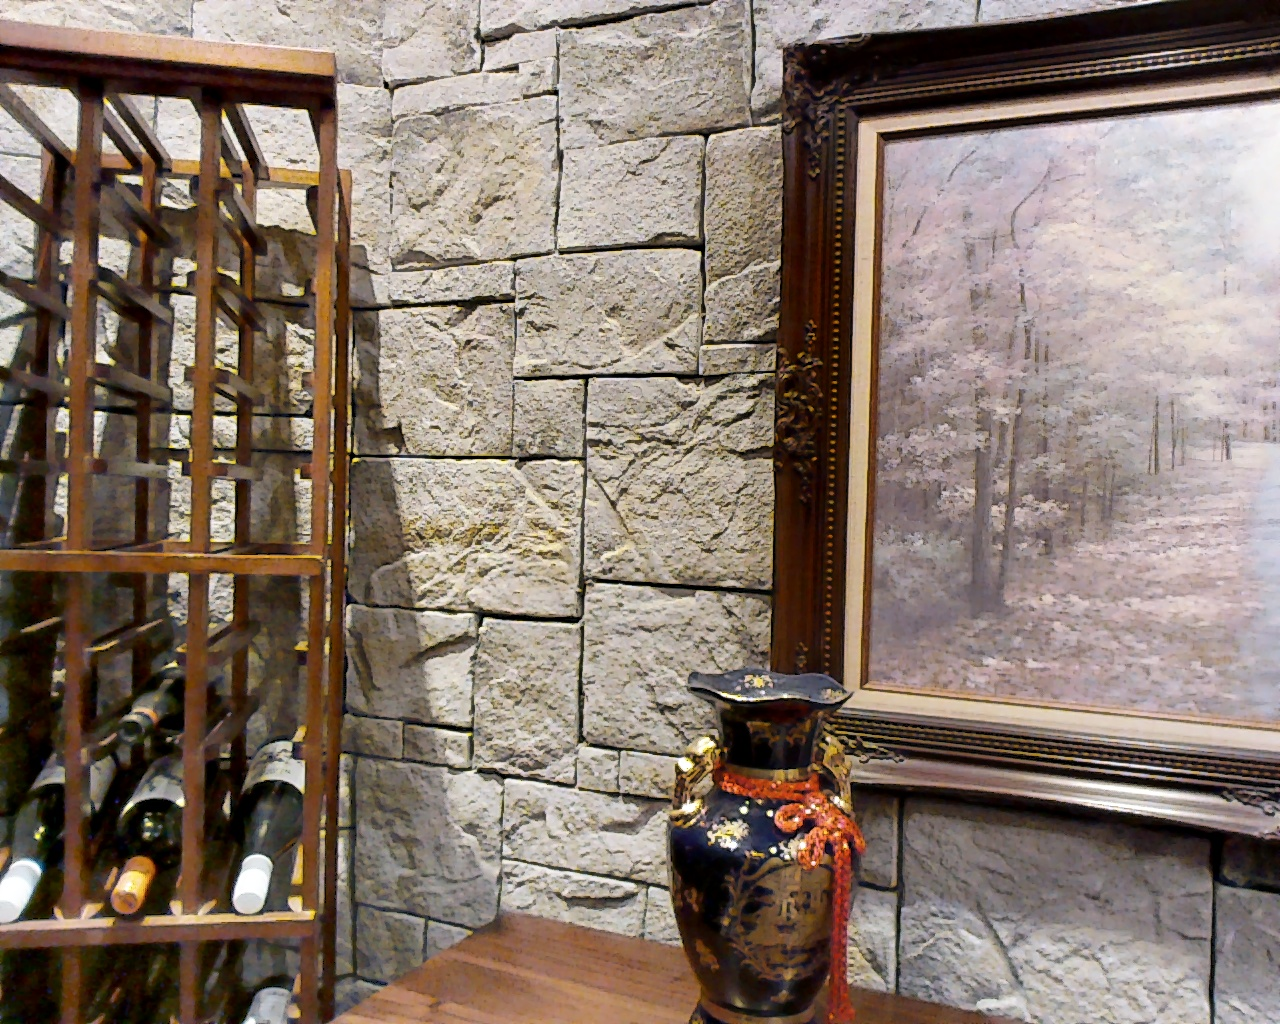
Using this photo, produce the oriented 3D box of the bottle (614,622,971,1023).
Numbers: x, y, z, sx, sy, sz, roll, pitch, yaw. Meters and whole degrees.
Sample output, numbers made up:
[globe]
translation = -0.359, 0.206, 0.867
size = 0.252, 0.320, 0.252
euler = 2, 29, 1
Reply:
[bottle]
translation = 0.160, 0.320, 1.070
size = 0.270, 0.380, 0.250
euler = 2, 0, 28
